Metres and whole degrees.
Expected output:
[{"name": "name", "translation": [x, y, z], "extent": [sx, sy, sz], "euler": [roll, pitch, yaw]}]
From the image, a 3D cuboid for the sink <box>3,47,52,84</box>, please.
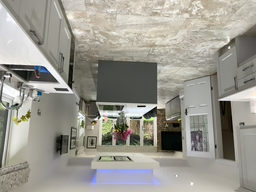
[{"name": "sink", "translation": [-1.120, -0.330, 2.440], "extent": [0.350, 0.240, 0.520], "euler": [3, 169, -7]}]
